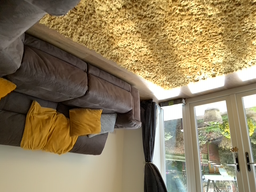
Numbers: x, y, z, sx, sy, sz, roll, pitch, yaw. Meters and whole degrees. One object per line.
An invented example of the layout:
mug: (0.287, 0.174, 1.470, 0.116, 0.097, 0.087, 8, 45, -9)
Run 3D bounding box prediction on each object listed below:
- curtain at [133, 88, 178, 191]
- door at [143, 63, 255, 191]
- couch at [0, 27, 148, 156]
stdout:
curtain: (0.400, 1.090, 3.290, 0.660, 2.400, 0.210, -15, 154, 38)
door: (1.390, 0.820, 2.710, 2.700, 2.290, 0.420, -16, 154, 39)
couch: (-0.700, 0.180, 2.650, 1.040, 0.960, 1.720, -17, 154, 40)
